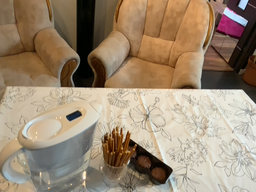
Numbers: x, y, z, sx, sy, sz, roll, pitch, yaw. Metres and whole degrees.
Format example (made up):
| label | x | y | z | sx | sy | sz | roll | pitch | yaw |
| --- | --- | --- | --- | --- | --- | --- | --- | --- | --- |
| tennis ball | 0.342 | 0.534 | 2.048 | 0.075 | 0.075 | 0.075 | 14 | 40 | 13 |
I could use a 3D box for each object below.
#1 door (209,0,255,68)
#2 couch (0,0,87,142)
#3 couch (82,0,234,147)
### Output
| label | x | y | z | sx | sy | sz | roll | pitch | yaw |
| --- | --- | --- | --- | --- | --- | --- | --- | --- | --- |
| door | 1.550 | -1.370 | 2.550 | 0.120 | 1.940 | 0.780 | 3 | 39 | -10 |
| couch | -0.920 | -0.370 | 1.580 | 0.880 | 0.960 | 0.960 | -15 | 45 | -29 |
| couch | 0.220 | -0.370 | 1.830 | 0.840 | 0.990 | 0.960 | 18 | 39 | 9 |
